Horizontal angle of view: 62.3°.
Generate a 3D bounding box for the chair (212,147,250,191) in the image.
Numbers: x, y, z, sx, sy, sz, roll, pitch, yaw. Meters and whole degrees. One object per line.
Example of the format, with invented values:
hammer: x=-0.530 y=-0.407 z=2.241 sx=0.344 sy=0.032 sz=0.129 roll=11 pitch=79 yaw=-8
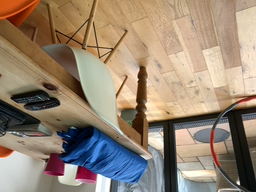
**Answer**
chair: x=1.820 y=1.380 z=3.740 sx=0.450 sy=0.810 sz=0.440 roll=-15 pitch=144 yaw=29
